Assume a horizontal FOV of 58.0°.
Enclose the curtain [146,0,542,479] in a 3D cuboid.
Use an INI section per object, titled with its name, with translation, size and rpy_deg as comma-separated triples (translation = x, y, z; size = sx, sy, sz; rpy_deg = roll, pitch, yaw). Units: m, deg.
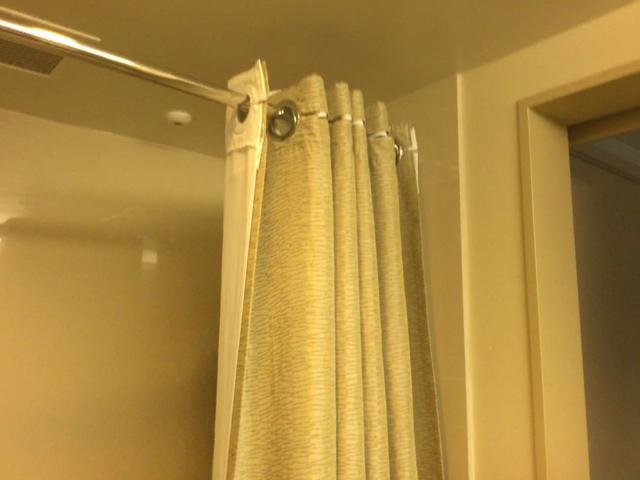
[curtain]
translation = 0.070, 0.700, 0.820
size = 0.580, 2.030, 0.250
rpy_deg = 7, -13, -38
